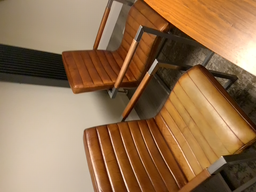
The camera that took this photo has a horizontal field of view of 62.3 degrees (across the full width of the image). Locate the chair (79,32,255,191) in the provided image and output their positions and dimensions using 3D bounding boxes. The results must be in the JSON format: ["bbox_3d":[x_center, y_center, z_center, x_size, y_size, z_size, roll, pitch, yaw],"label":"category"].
[{"bbox_3d":[0.300,0.180,1.100,0.630,0.860,0.540,-61,40,34],"label":"chair"}]

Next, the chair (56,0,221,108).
[{"bbox_3d":[0.030,-0.350,1.570,0.620,0.890,0.580,-62,39,32],"label":"chair"}]
